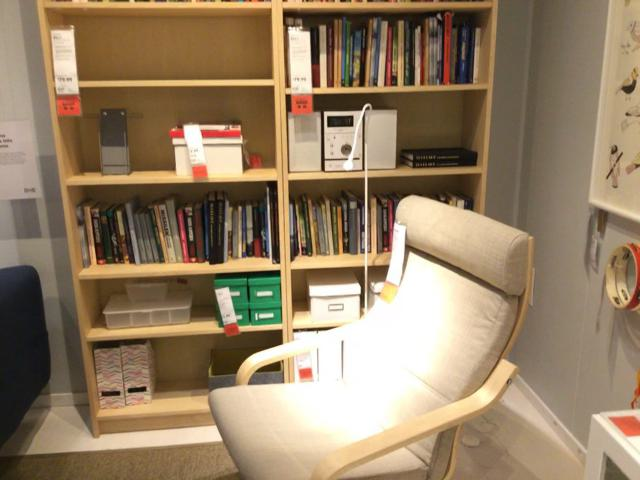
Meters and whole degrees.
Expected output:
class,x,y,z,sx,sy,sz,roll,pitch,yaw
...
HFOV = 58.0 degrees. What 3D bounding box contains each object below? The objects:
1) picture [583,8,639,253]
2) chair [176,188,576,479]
class,x,y,z,sx,sy,sz,roll,pitch,yaw
picture,0.940,-0.300,1.600,0.050,0.680,0.540,-1,12,-8
chair,0.090,0.410,1.810,0.890,1.030,0.830,-4,12,-22
